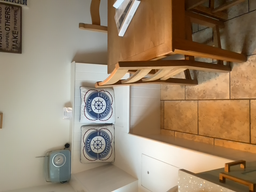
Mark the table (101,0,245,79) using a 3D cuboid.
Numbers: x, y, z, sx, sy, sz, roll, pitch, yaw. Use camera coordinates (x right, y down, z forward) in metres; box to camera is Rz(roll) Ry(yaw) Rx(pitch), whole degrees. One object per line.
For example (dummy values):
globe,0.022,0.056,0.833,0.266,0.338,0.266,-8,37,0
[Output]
table,0.320,-1.100,1.870,0.950,0.780,1.750,-5,84,60
